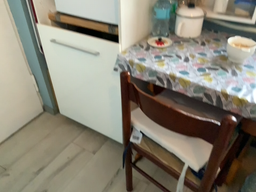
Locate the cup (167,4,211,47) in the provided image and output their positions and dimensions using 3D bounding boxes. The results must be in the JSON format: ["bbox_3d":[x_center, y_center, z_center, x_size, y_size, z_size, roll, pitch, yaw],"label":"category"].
[{"bbox_3d":[0.330,-0.390,1.160,0.150,0.150,0.190,23,44,26],"label":"cup"}]

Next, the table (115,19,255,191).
[{"bbox_3d":[0.510,0.130,1.190,0.980,0.760,0.590,24,45,28],"label":"table"}]
